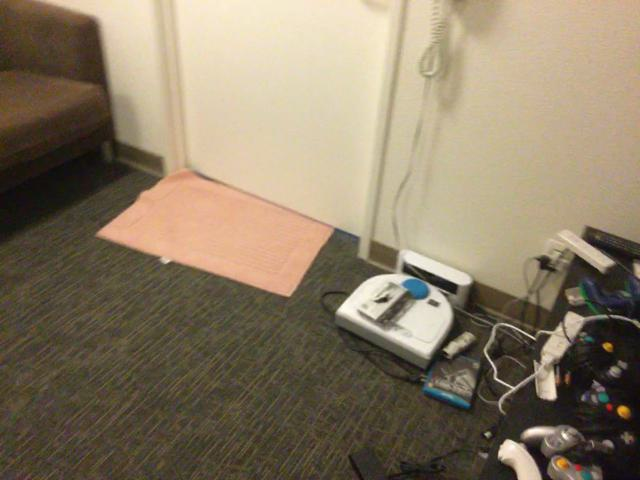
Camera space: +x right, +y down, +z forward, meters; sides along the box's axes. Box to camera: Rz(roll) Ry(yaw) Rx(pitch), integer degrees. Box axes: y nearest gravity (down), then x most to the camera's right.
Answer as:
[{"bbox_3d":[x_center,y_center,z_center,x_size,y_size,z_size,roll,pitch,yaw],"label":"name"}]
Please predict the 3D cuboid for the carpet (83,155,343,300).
[{"bbox_3d":[-0.400,-0.080,2.250,0.860,0.110,0.470,17,37,15],"label":"carpet"}]
